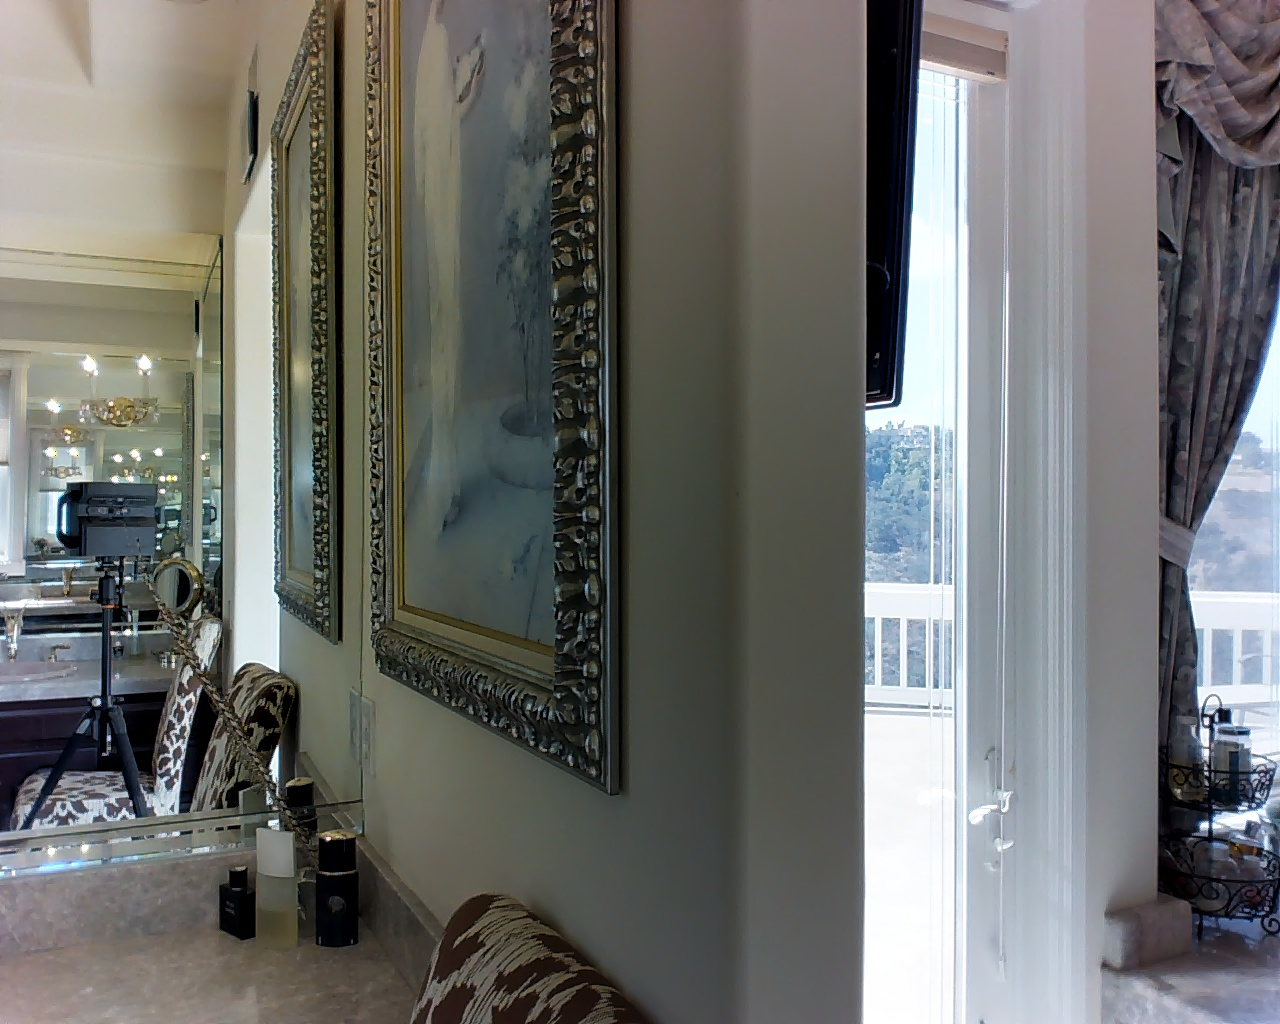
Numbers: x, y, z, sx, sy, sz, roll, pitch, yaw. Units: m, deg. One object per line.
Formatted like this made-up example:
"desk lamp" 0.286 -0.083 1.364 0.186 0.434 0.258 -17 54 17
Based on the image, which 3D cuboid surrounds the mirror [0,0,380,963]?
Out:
"mirror" -0.850 -0.220 1.490 0.960 1.660 0.060 0 0 -27
